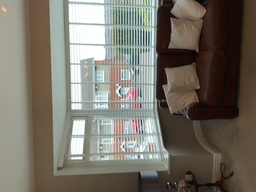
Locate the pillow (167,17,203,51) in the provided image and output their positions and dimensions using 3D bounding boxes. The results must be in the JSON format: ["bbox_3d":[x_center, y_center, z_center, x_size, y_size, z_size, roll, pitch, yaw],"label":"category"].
[{"bbox_3d":[0.720,-0.770,2.670,0.150,0.420,0.350,-67,-29,-49],"label":"pillow"}]

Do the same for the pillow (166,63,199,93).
[{"bbox_3d":[0.690,-0.230,2.710,0.160,0.390,0.340,61,-149,-70],"label":"pillow"}]

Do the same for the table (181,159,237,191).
[{"bbox_3d":[0.980,1.020,2.620,0.340,0.530,0.330,-135,45,-81],"label":"table"}]

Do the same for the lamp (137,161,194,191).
[{"bbox_3d":[0.430,1.030,2.560,0.370,0.600,0.330,-141,51,-82],"label":"lamp"}]
